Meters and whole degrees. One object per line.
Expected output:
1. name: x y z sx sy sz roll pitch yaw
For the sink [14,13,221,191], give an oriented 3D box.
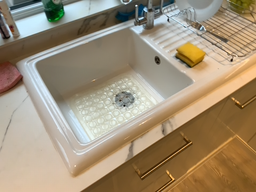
1. sink: -0.060 -0.040 0.880 0.570 0.220 0.550 -28 56 -22
